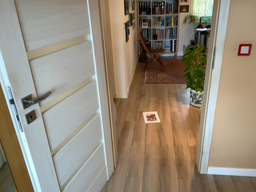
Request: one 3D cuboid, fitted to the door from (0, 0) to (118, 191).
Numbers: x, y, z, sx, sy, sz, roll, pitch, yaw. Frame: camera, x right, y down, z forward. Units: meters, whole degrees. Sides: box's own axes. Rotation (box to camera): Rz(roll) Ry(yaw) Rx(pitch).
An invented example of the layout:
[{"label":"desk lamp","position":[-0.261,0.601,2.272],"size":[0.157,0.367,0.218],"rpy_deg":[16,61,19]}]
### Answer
[{"label":"door","position":[-0.370,0.000,1.380],"size":[0.120,2.150,0.930],"rpy_deg":[8,26,21]}]
